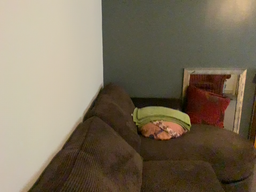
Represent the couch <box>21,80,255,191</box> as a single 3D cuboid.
[{"bbox_3d":[0.170,0.500,1.770,0.970,0.880,2.240,1,14,2],"label":"couch"}]
